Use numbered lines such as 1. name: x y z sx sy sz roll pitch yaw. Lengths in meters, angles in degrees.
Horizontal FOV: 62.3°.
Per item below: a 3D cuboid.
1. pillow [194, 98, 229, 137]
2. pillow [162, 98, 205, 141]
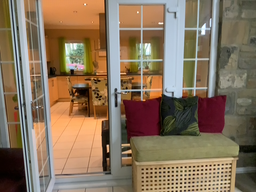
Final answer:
1. pillow: 0.920 0.230 2.340 0.310 0.400 0.130 -1 10 -4
2. pillow: 0.580 0.240 2.230 0.390 0.430 0.140 -1 -4 -4
